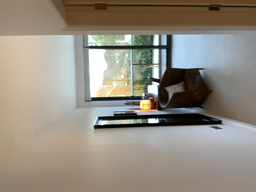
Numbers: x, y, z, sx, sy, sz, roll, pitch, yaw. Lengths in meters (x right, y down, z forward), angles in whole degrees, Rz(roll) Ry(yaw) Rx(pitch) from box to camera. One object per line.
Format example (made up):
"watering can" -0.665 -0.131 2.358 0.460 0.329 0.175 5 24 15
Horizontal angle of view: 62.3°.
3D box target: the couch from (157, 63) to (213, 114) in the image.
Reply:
"couch" 1.000 -0.140 3.920 0.620 0.710 0.710 96 171 -51
